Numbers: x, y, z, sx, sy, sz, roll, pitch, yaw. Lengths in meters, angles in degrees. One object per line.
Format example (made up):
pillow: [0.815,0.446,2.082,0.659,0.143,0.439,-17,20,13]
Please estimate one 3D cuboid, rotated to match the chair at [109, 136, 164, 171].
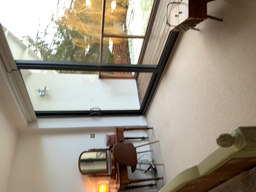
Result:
chair: [0.120,1.000,3.670,0.460,0.820,0.410,106,160,-55]
